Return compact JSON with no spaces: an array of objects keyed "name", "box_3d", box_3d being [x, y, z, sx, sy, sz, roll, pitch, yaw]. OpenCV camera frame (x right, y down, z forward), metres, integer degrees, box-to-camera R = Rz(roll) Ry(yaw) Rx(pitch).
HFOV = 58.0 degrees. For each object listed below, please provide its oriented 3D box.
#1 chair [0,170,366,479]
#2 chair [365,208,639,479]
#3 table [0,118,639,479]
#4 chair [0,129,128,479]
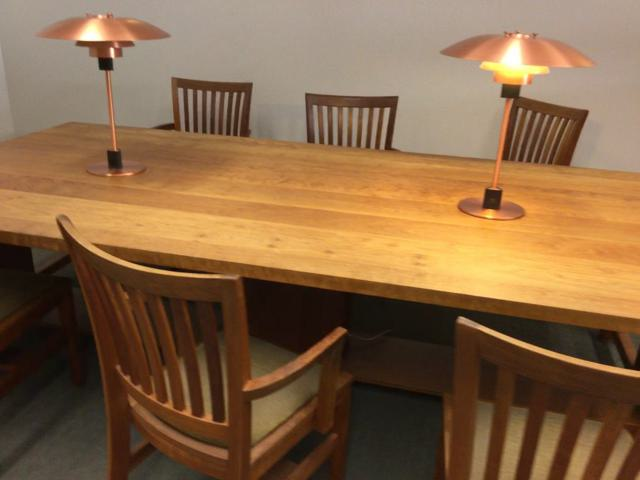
[{"name":"chair","box_3d":[-0.270,0.360,1.460,0.640,0.930,0.620,5,20,15]},{"name":"chair","box_3d":[0.440,0.480,1.230,0.580,0.920,0.640,5,20,15]},{"name":"table","box_3d":[-0.130,0.140,2.170,2.820,0.920,1.480,5,20,15]},{"name":"chair","box_3d":[-1.130,0.170,1.840,0.620,0.940,0.680,5,20,15]}]
